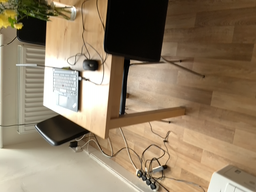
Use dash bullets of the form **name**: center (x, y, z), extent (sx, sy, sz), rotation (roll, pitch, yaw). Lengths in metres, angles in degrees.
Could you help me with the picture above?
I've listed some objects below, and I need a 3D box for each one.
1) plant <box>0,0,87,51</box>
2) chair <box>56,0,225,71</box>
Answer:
- **plant**: center (-0.480, -0.460, 1.050), extent (0.260, 0.400, 0.340), rotation (56, 129, 28)
- **chair**: center (0.110, -0.380, 1.180), extent (0.430, 0.840, 0.370), rotation (22, 109, 43)
